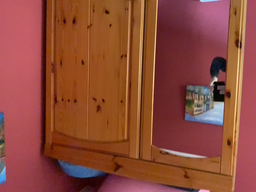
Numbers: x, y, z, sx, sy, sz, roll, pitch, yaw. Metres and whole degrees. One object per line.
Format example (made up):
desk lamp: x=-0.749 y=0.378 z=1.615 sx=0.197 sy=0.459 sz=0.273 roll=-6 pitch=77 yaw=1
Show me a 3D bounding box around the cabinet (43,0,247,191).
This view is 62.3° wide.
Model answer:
cabinet: x=0.110 y=-0.550 z=1.470 sx=1.200 sy=2.040 sz=0.610 roll=4 pitch=-176 yaw=23
